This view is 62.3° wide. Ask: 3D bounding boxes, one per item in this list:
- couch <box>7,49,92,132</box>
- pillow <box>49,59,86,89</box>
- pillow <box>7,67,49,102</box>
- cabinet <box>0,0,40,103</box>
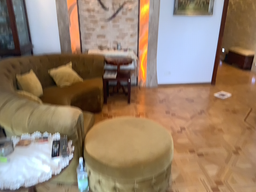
[{"bbox_3d":[-1.090,-0.140,3.080,0.840,0.880,0.690,14,26,28],"label":"couch"},{"bbox_3d":[-0.930,-0.330,3.280,0.220,0.350,0.430,26,12,31],"label":"pillow"},{"bbox_3d":[-1.250,-0.160,2.700,0.260,0.310,0.410,5,23,10],"label":"pillow"},{"bbox_3d":[-1.880,-0.900,3.530,0.350,1.920,0.650,-2,23,-7],"label":"cabinet"}]
